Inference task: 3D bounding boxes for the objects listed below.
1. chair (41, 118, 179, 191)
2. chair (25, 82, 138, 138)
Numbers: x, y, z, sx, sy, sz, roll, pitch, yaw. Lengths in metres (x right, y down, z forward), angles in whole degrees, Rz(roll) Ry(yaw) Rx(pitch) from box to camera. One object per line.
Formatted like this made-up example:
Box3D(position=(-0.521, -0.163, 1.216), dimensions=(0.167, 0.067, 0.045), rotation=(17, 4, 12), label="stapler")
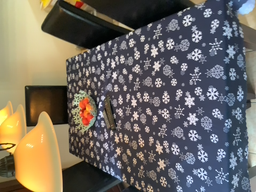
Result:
Box3D(position=(-0.110, 0.490, 1.820), dimensions=(0.430, 1.090, 0.500), rotation=(-7, 86, 53), label="chair")
Box3D(position=(-0.470, 0.090, 2.260), dimensions=(0.530, 1.040, 0.430), rotation=(11, 101, 52), label="chair")
